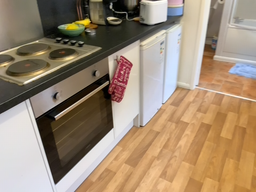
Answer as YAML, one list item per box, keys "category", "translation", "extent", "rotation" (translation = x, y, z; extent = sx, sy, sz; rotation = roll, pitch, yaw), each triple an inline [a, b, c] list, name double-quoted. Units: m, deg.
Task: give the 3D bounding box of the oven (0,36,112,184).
- category: "oven"
  translation: [-0.530, 0.030, 1.400]
  extent: [0.590, 0.630, 0.580]
  rotation: [16, 35, 26]

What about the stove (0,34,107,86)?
- category: "stove"
  translation: [-0.530, -0.250, 1.230]
  extent: [0.590, 0.020, 0.570]
  rotation: [16, 35, 25]

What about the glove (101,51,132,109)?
- category: "glove"
  translation: [-0.070, -0.120, 1.540]
  extent: [0.070, 0.330, 0.290]
  rotation: [16, 35, 26]
